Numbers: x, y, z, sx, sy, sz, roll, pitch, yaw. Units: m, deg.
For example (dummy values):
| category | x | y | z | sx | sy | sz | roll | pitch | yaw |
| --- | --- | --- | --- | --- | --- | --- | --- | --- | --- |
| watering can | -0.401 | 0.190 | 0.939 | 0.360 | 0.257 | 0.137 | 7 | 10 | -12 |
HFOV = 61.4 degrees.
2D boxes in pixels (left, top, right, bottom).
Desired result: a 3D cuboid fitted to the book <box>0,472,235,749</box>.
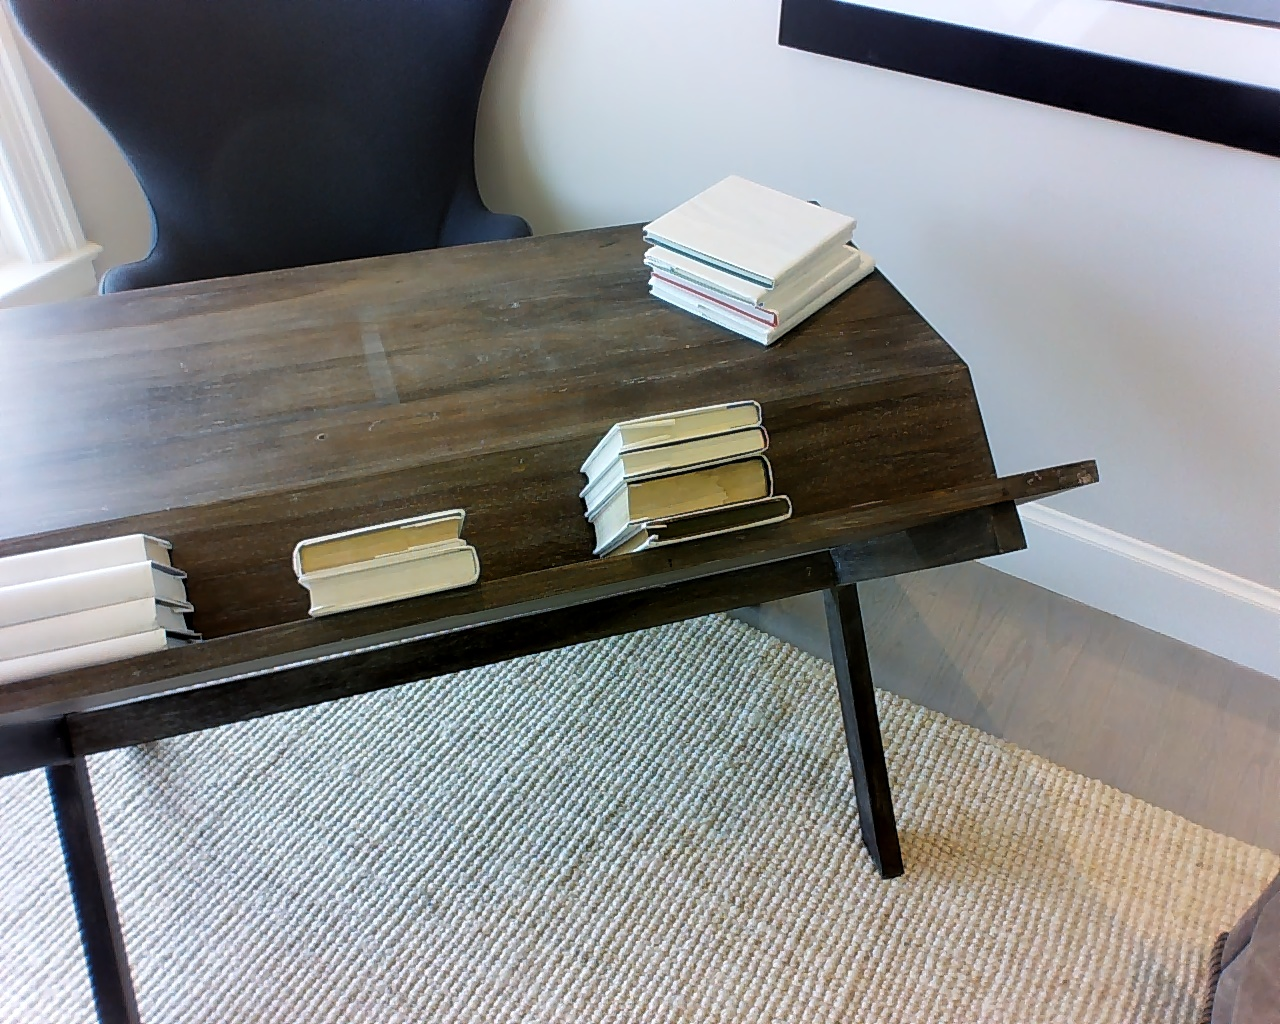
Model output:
| category | x | y | z | sx | sy | sz | roll | pitch | yaw |
| --- | --- | --- | --- | --- | --- | --- | --- | --- | --- |
| book | -0.600 | 0.110 | 1.100 | 0.270 | 0.150 | 0.200 | -35 | 9 | 3 |

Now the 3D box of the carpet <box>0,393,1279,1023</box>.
| category | x | y | z | sx | sy | sz | roll | pitch | yaw |
| --- | --- | --- | --- | --- | --- | --- | --- | --- | --- |
| carpet | -0.230 | 0.940 | 1.320 | 3.070 | 0.010 | 2.460 | 23 | 46 | 23 |

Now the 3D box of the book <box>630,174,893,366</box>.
| category | x | y | z | sx | sy | sz | roll | pitch | yaw |
| --- | --- | --- | --- | --- | --- | --- | --- | --- | --- |
| book | 0.180 | -0.370 | 1.600 | 0.260 | 0.100 | 0.300 | 28 | 48 | 27 |

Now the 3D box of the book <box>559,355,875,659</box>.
| category | x | y | z | sx | sy | sz | roll | pitch | yaw |
| --- | --- | --- | --- | --- | --- | --- | --- | --- | --- |
| book | 0.080 | -0.020 | 1.250 | 0.270 | 0.190 | 0.260 | -40 | 6 | 5 |

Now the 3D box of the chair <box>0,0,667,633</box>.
| category | x | y | z | sx | sy | sz | roll | pitch | yaw |
| --- | --- | --- | --- | --- | --- | --- | --- | --- | --- |
| chair | -0.570 | -0.500 | 2.100 | 1.040 | 1.090 | 0.690 | -12 | 43 | -15 |
